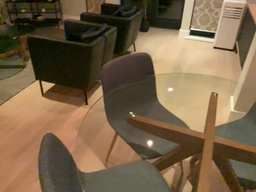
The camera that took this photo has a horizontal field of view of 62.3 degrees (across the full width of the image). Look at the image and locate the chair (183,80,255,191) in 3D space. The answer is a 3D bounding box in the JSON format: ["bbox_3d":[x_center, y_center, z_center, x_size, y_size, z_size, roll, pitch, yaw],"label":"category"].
[{"bbox_3d":[0.750,0.380,1.310,0.530,0.860,0.410,-5,36,-10],"label":"chair"}]

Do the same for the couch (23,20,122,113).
[{"bbox_3d":[-0.570,-0.390,2.500,0.740,0.720,0.760,14,36,17],"label":"couch"}]

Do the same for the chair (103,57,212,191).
[{"bbox_3d":[0.160,0.240,1.510,0.440,0.820,0.490,-25,43,-34],"label":"chair"}]

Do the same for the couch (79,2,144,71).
[{"bbox_3d":[-0.220,-0.950,3.280,0.690,0.760,0.740,14,36,17],"label":"couch"}]
